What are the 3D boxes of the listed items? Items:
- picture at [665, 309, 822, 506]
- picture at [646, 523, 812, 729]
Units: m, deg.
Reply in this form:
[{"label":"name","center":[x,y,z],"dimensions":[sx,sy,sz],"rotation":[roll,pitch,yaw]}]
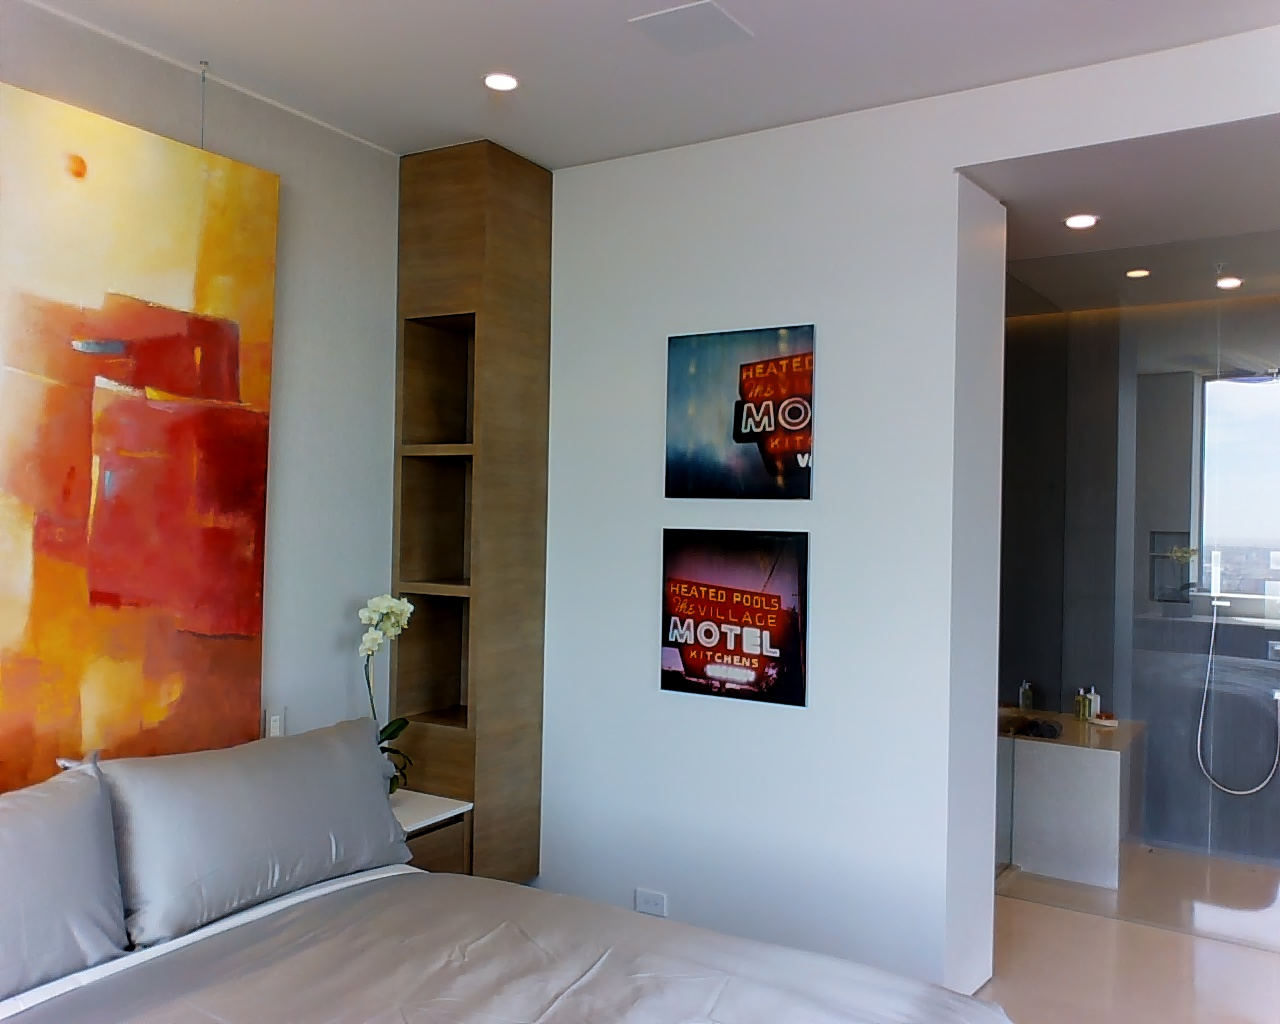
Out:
[{"label":"picture","center":[0.340,-0.340,3.640],"dimensions":[0.570,0.630,0.050],"rotation":[1,0,36]},{"label":"picture","center":[0.290,0.370,3.660],"dimensions":[0.610,0.650,0.050],"rotation":[1,0,36]}]
